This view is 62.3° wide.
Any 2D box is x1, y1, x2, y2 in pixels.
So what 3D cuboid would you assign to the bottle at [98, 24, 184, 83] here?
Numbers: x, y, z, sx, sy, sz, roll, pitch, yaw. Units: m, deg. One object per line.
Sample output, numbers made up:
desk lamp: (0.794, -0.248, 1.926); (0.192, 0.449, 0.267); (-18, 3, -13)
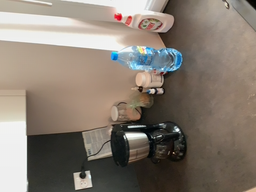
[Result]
bottle: (0.050, -0.170, 0.920); (0.200, 0.300, 0.110); (118, 142, -44)
